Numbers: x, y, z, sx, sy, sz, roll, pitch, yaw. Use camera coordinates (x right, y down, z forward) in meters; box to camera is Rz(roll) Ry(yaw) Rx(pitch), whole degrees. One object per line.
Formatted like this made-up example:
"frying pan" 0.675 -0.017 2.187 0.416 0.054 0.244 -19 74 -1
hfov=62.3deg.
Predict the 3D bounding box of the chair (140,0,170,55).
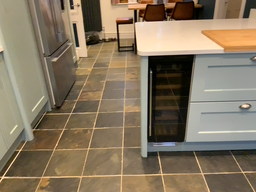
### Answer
"chair" 0.520 -1.390 4.260 0.490 0.980 0.540 -2 27 -1
